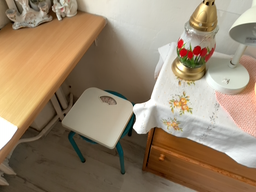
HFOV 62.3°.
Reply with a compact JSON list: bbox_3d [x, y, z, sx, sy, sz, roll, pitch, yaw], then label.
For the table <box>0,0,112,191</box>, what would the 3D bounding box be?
[{"bbox_3d":[-0.630,0.530,0.730,0.360,0.780,1.870,19,56,12],"label":"table"}]
